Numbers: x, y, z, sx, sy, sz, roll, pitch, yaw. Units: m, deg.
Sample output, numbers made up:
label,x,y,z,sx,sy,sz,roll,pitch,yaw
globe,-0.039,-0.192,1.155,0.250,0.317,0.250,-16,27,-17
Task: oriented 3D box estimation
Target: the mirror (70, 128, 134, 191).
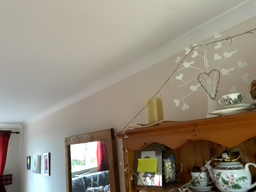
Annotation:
label,x,y,z,sx,sy,sz,roll,pitch,yaw
mirror,-0.340,0.790,2.210,0.090,0.790,1.190,6,-16,-35
